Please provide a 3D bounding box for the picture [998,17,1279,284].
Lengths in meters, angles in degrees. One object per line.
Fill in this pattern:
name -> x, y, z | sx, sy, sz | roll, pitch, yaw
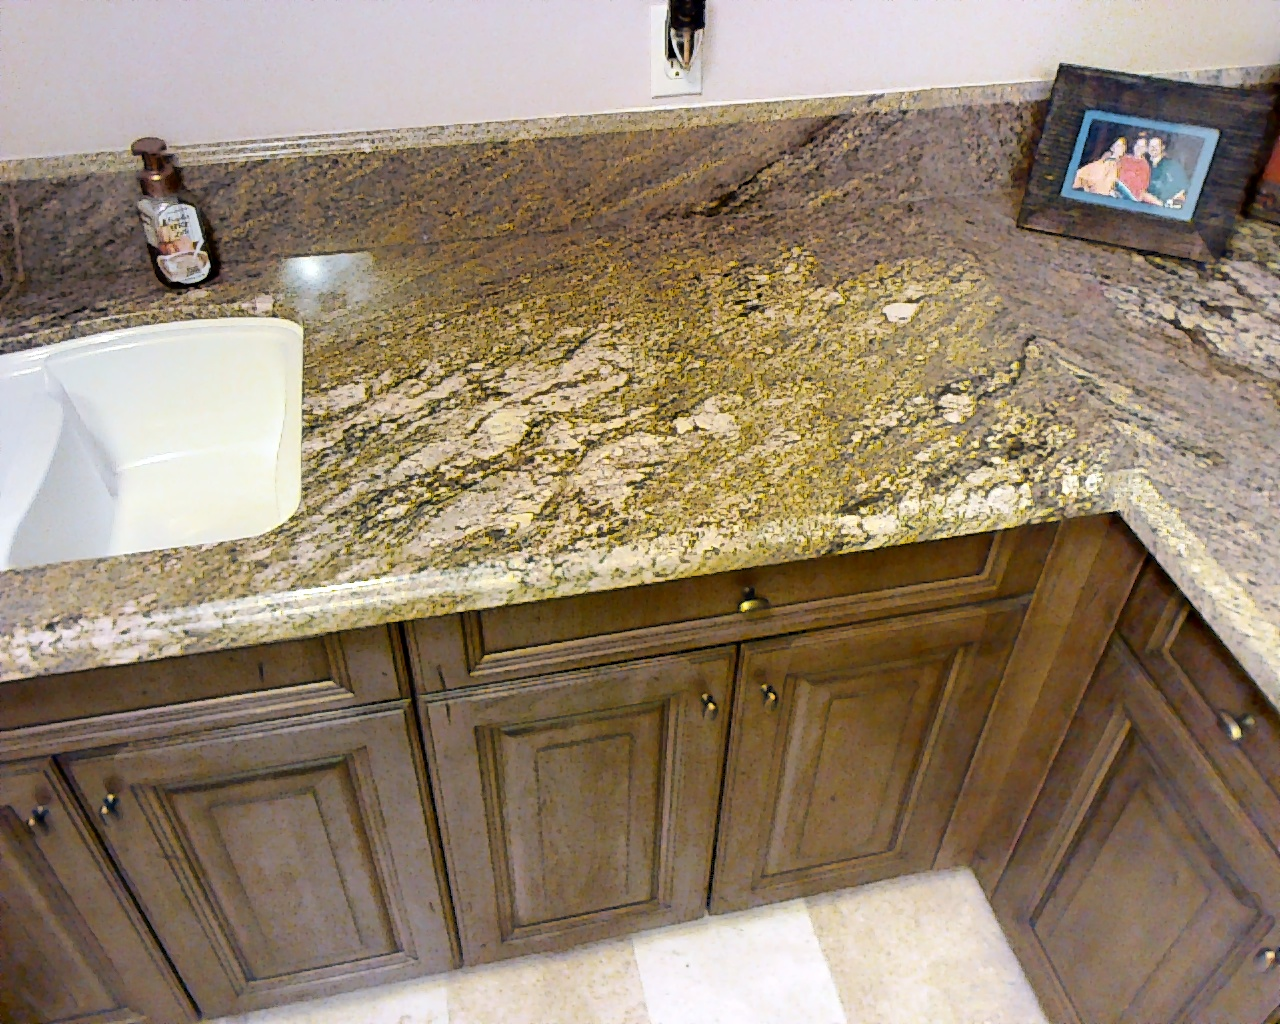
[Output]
picture -> 0.690, -0.480, 1.440 | 0.320, 0.230, 0.100 | 25, 60, 9

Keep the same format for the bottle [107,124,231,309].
bottle -> -0.570, -0.360, 1.310 | 0.090, 0.190, 0.090 | -10, 42, -12
